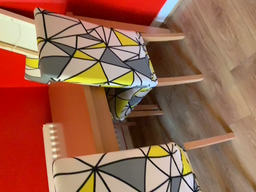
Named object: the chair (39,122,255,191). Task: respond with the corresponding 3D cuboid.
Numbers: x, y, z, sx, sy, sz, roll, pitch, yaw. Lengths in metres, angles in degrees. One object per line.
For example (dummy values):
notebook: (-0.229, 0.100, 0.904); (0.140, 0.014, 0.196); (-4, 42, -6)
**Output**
chair: (0.110, 0.480, 1.030); (0.510, 0.930, 0.420); (-54, 47, 48)
